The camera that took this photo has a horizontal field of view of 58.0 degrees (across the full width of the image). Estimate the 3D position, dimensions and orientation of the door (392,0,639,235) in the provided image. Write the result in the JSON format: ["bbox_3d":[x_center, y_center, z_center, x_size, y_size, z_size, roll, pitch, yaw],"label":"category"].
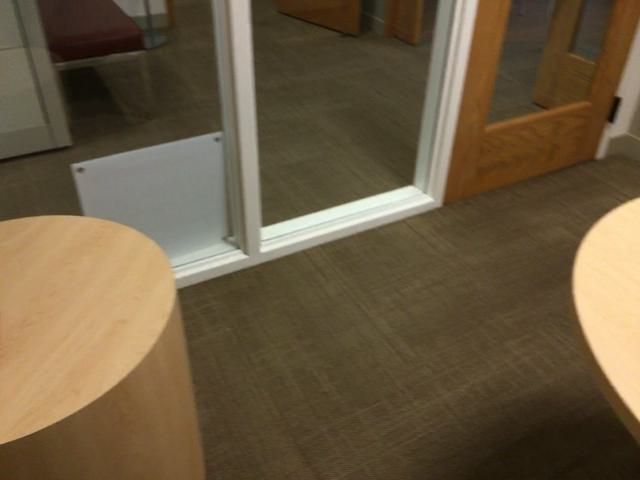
[{"bbox_3d":[0.880,-0.680,2.160,1.260,1.080,0.170,-19,41,-23],"label":"door"}]

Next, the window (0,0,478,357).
[{"bbox_3d":[-0.280,-0.420,1.780,1.660,1.130,0.270,-19,41,-23],"label":"window"}]

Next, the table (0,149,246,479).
[{"bbox_3d":[-0.560,0.320,1.170,0.610,0.680,0.620,-18,41,-22],"label":"table"}]
